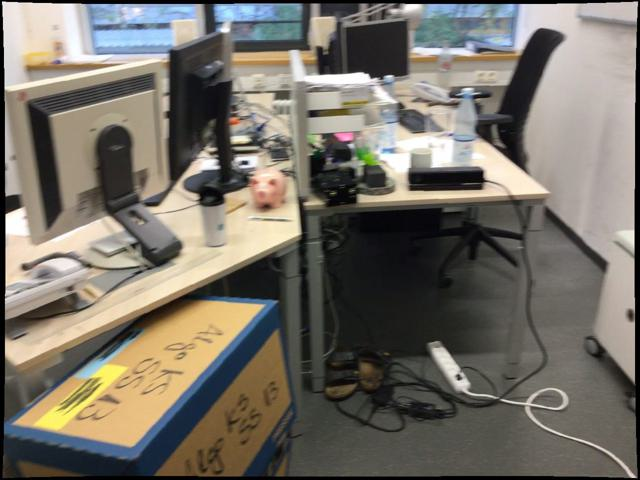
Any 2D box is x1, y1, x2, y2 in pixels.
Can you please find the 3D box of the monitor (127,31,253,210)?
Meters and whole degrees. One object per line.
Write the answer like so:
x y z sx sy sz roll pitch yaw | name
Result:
-0.390 -0.430 1.920 0.210 0.430 0.680 -1 25 2 | monitor

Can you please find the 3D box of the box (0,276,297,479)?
-0.320 0.450 1.270 0.519 0.450 0.670 -2 25 -1 | box

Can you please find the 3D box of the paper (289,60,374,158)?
0.030 -0.440 1.900 0.250 0.230 0.370 -2 25 -1 | paper

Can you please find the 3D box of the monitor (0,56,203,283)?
-0.539 -0.200 1.500 0.360 0.470 0.400 -2 25 -1 | monitor
